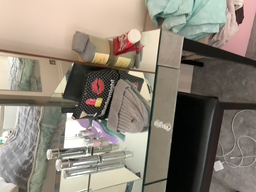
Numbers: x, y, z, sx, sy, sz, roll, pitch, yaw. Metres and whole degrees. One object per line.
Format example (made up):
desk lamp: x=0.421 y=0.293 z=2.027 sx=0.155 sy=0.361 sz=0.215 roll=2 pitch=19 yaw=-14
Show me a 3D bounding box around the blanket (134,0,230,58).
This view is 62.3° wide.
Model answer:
blanket: x=0.260 y=-0.470 z=1.070 sx=0.430 sy=0.180 sz=0.520 roll=12 pitch=98 yaw=52
